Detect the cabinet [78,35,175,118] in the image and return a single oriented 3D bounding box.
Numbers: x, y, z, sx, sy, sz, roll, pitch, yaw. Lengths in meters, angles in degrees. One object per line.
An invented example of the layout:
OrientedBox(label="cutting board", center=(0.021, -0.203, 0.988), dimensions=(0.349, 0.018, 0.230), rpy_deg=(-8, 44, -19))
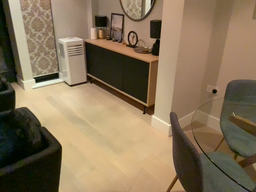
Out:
OrientedBox(label="cabinet", center=(-0.150, -0.430, 3.480), dimensions=(0.440, 0.790, 1.820), rpy_deg=(-19, 33, -37))

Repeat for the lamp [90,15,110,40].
OrientedBox(label="lamp", center=(-0.490, -1.230, 3.770), dimensions=(0.210, 0.380, 0.300), rpy_deg=(-20, 33, -39))
